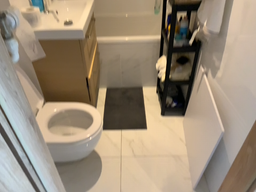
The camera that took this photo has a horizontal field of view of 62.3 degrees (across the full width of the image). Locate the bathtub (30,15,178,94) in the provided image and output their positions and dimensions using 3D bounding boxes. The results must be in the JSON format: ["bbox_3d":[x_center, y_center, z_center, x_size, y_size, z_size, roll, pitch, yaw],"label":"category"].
[{"bbox_3d":[-0.220,-0.480,2.390,1.350,0.620,0.680,0,40,0],"label":"bathtub"}]

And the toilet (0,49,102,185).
[{"bbox_3d":[-0.470,0.180,1.380,0.510,0.880,0.360,-1,40,-1],"label":"toilet"}]
